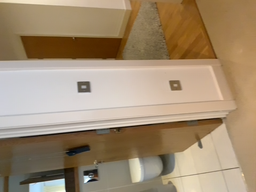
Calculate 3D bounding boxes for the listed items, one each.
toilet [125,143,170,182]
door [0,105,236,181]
[{"bbox_3d":[0.230,0.900,2.840,0.560,0.380,0.380,120,143,-62],"label":"toilet"},{"bbox_3d":[-0.260,0.460,1.970,0.970,2.200,0.230,117,146,-59],"label":"door"}]
